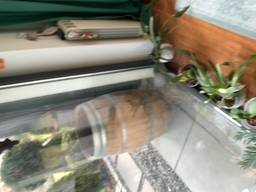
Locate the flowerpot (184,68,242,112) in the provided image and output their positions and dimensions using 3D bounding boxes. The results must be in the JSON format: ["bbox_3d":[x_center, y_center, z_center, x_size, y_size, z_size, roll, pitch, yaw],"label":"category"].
[{"bbox_3d":[0.660,-0.060,1.680,0.300,0.240,0.200,41,134,46],"label":"flowerpot"}]

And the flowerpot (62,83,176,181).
[{"bbox_3d":[-0.100,0.310,2.350,0.610,0.980,0.730,-2,98,60],"label":"flowerpot"}]
